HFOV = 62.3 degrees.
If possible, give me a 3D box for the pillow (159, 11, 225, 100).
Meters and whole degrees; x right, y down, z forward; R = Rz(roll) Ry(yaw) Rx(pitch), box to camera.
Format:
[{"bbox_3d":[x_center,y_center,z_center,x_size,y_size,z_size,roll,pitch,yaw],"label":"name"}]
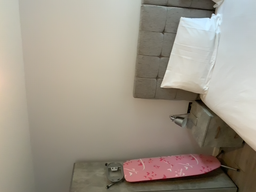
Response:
[{"bbox_3d":[0.600,-0.390,2.090,0.190,0.440,0.780,-56,-25,-67],"label":"pillow"}]
